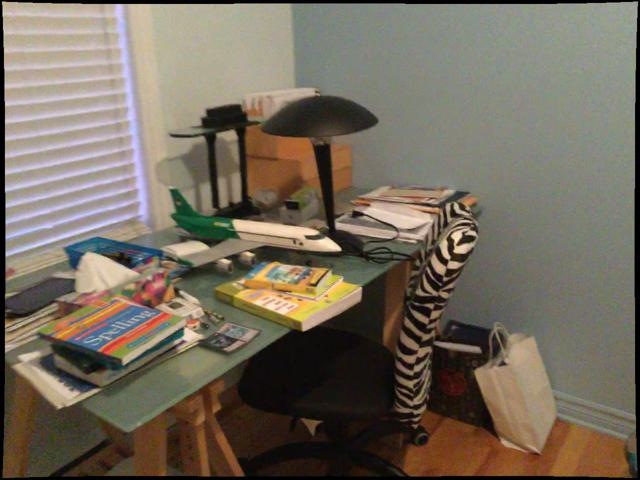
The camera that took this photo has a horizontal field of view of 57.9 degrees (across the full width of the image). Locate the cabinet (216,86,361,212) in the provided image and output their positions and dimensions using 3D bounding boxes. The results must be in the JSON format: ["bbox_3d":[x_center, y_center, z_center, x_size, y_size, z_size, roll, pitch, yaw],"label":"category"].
[{"bbox_3d":[-0.100,-0.360,2.160,0.330,0.360,0.430,13,26,33],"label":"cabinet"}]

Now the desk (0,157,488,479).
[{"bbox_3d":[-0.200,0.330,1.830,0.879,0.791,1.540,13,26,33],"label":"desk"}]

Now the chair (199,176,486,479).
[{"bbox_3d":[0.100,0.320,1.680,0.649,0.881,0.470,5,22,18],"label":"chair"}]
